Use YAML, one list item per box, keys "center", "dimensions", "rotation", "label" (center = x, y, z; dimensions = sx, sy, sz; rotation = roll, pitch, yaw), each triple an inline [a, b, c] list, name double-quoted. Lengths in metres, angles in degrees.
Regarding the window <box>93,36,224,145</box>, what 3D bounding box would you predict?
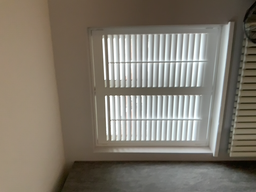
- center: [0.270, -0.020, 2.050]
  dimensions: [0.040, 1.150, 1.080]
  rotation: [-88, -2, -73]
  label: "window"
